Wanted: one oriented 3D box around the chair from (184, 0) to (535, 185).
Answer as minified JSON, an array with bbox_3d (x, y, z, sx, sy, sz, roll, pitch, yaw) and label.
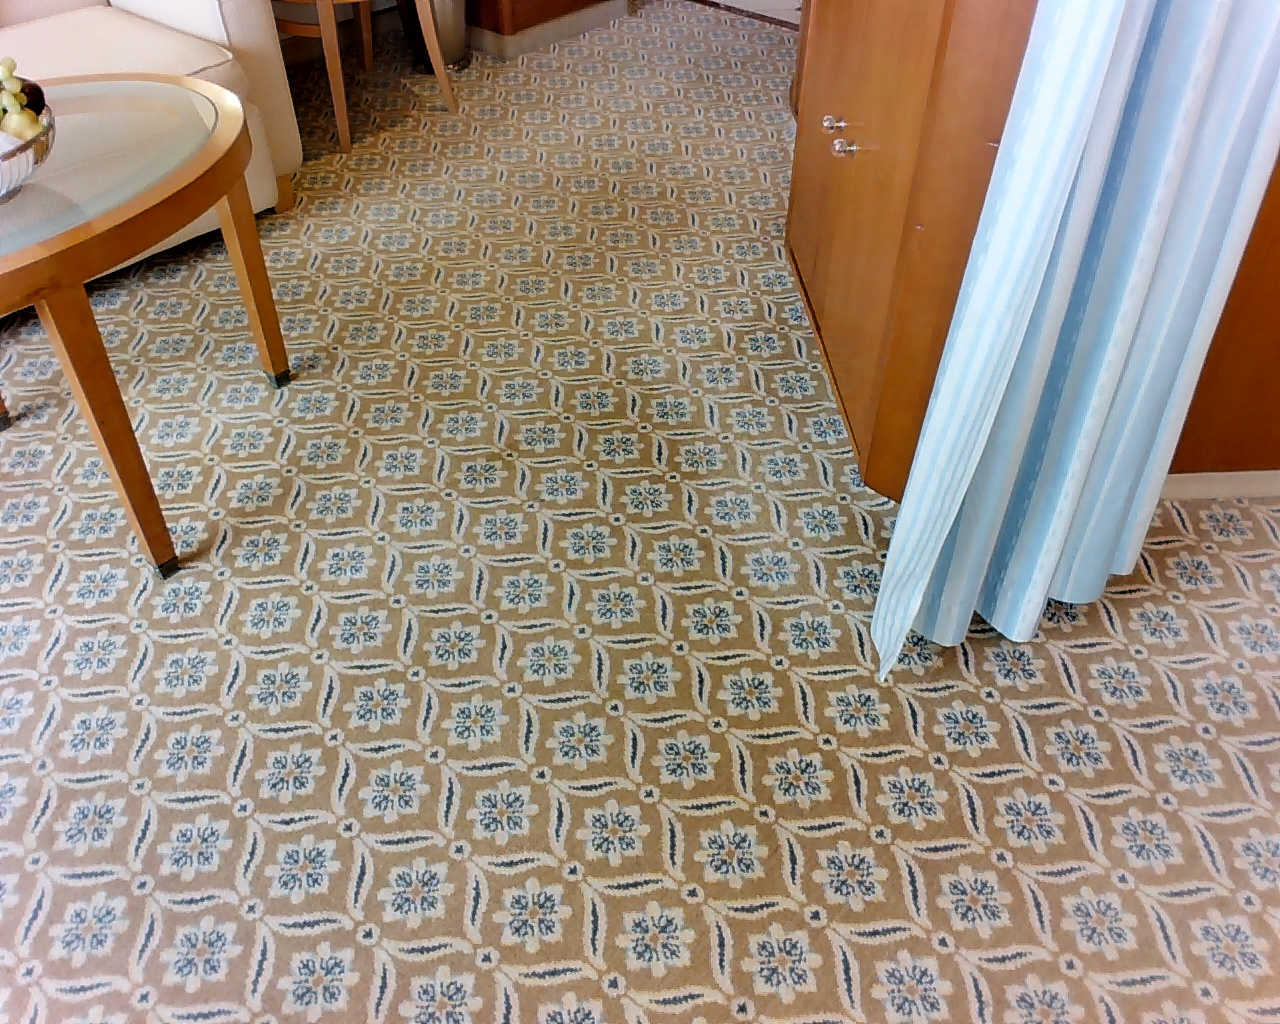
[{"bbox_3d":[-0.750,-1.450,2.760,0.660,0.870,0.620,31,50,30],"label":"chair"}]
